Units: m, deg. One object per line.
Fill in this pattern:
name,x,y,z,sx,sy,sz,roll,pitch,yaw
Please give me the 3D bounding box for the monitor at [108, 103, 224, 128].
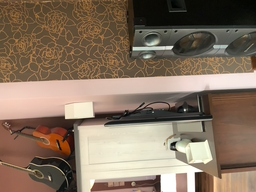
monitor,0.170,0.170,1.550,0.940,0.600,0.060,111,155,-79
